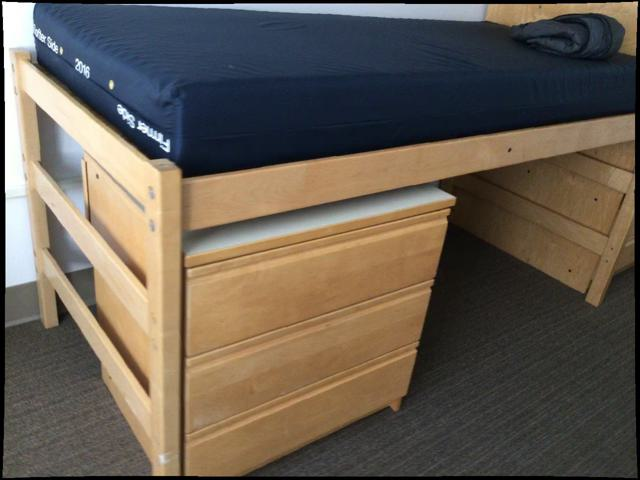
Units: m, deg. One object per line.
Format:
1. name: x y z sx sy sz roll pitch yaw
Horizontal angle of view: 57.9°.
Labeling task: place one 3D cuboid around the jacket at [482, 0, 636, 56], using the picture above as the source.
1. jacket: 0.819 -0.761 2.020 0.220 0.130 0.430 -14 35 -35
